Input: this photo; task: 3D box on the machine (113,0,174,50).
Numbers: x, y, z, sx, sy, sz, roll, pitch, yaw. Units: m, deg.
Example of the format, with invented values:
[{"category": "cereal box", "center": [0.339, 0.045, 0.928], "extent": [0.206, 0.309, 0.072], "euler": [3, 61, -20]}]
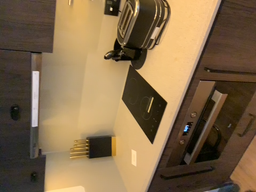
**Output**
[{"category": "machine", "center": [0.070, -0.430, 1.160], "extent": [0.220, 0.190, 0.250], "euler": [64, 143, 43]}]

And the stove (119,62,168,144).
[{"category": "stove", "center": [0.070, 0.020, 1.350], "extent": [0.510, 0.010, 0.300], "euler": [53, 135, 51]}]
